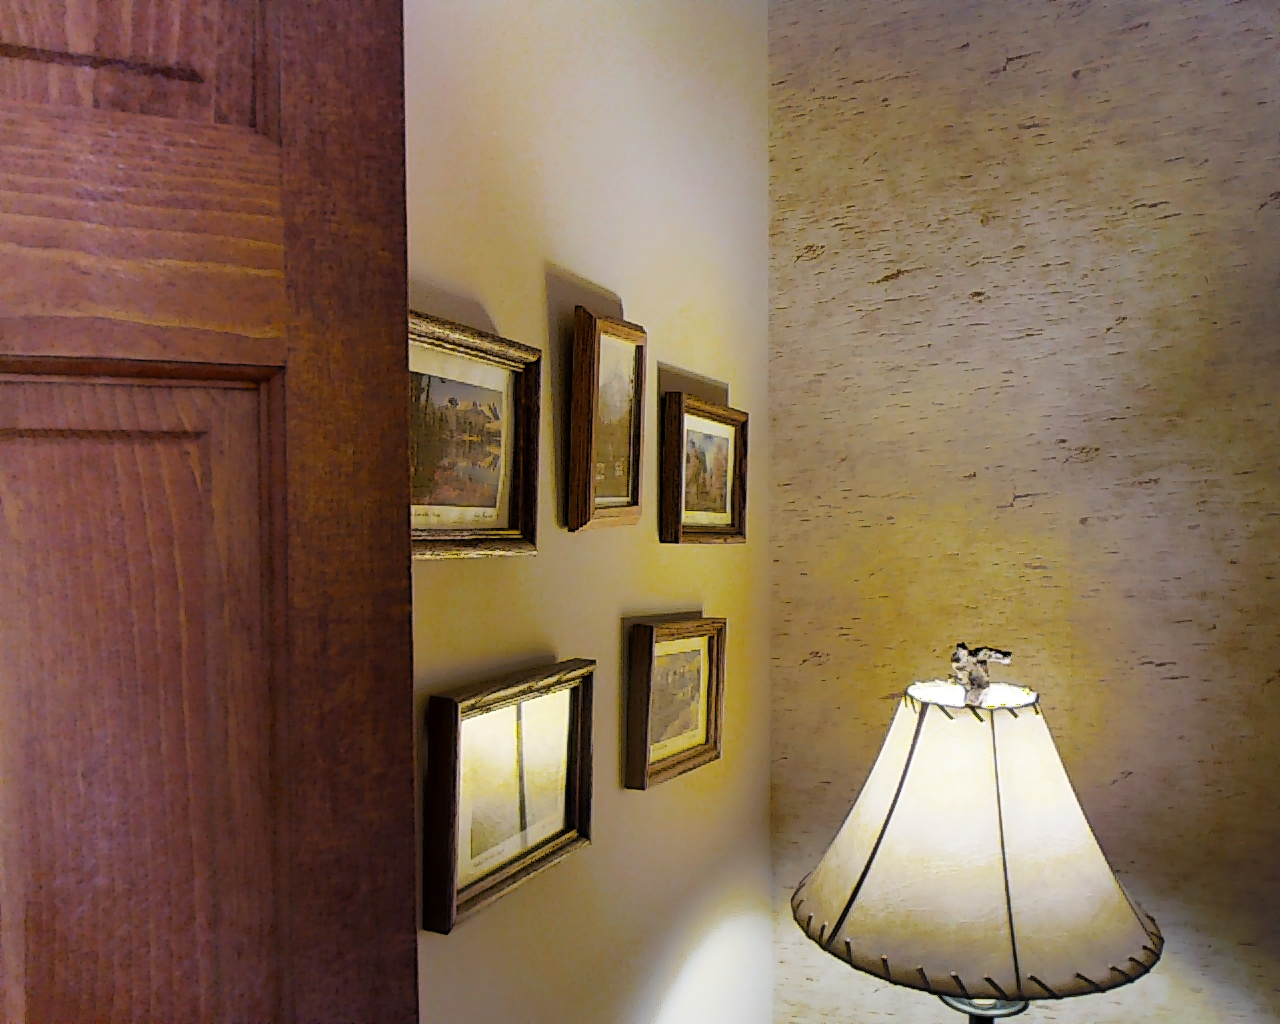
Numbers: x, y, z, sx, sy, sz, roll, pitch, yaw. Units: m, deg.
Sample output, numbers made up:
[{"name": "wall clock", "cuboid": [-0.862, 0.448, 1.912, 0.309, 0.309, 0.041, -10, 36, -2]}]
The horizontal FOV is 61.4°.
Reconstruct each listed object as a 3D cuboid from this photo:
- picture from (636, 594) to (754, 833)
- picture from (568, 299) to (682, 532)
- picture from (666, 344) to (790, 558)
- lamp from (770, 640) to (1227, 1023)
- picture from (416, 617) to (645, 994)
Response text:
[{"name": "picture", "cuboid": [0.060, 0.190, 1.080, 0.050, 0.200, 0.210, 0, 0, 23]}, {"name": "picture", "cuboid": [-0.010, -0.080, 0.960, 0.030, 0.190, 0.160, 4, 2, 23]}, {"name": "picture", "cuboid": [0.110, -0.060, 1.230, 0.030, 0.210, 0.360, 0, 0, 23]}, {"name": "lamp", "cuboid": [0.360, 0.330, 1.070, 0.360, 0.350, 0.300, 0, 0, -45]}, {"name": "picture", "cuboid": [-0.070, 0.200, 0.830, 0.030, 0.210, 0.310, 0, 0, 23]}]
